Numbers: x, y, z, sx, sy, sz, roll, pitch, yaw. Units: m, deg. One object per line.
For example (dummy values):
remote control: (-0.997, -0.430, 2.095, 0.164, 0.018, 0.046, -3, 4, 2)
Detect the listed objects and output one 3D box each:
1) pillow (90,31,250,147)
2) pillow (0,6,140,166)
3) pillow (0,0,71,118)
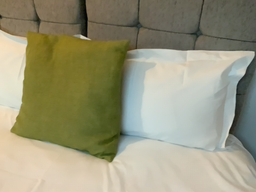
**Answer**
pillow: (0.180, -0.020, 0.940, 0.570, 0.400, 0.210, -8, 15, 18)
pillow: (-0.350, 0.000, 0.930, 0.670, 0.510, 0.160, -14, 10, 20)
pillow: (-0.720, -0.150, 1.180, 0.670, 0.510, 0.170, -12, 11, 20)
